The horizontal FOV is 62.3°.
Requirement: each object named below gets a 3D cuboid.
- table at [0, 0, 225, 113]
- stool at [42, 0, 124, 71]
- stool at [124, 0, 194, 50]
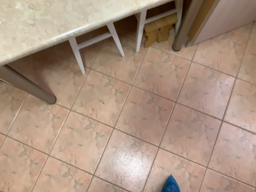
[{"bbox_3d":[-0.180,-0.430,1.090,1.020,0.740,0.590,-22,78,-4],"label":"table"},{"bbox_3d":[-0.240,-0.420,1.230,0.310,0.470,0.330,-22,78,-3],"label":"stool"},{"bbox_3d":[0.160,-0.550,1.250,0.290,0.470,0.290,-22,78,-3],"label":"stool"}]
